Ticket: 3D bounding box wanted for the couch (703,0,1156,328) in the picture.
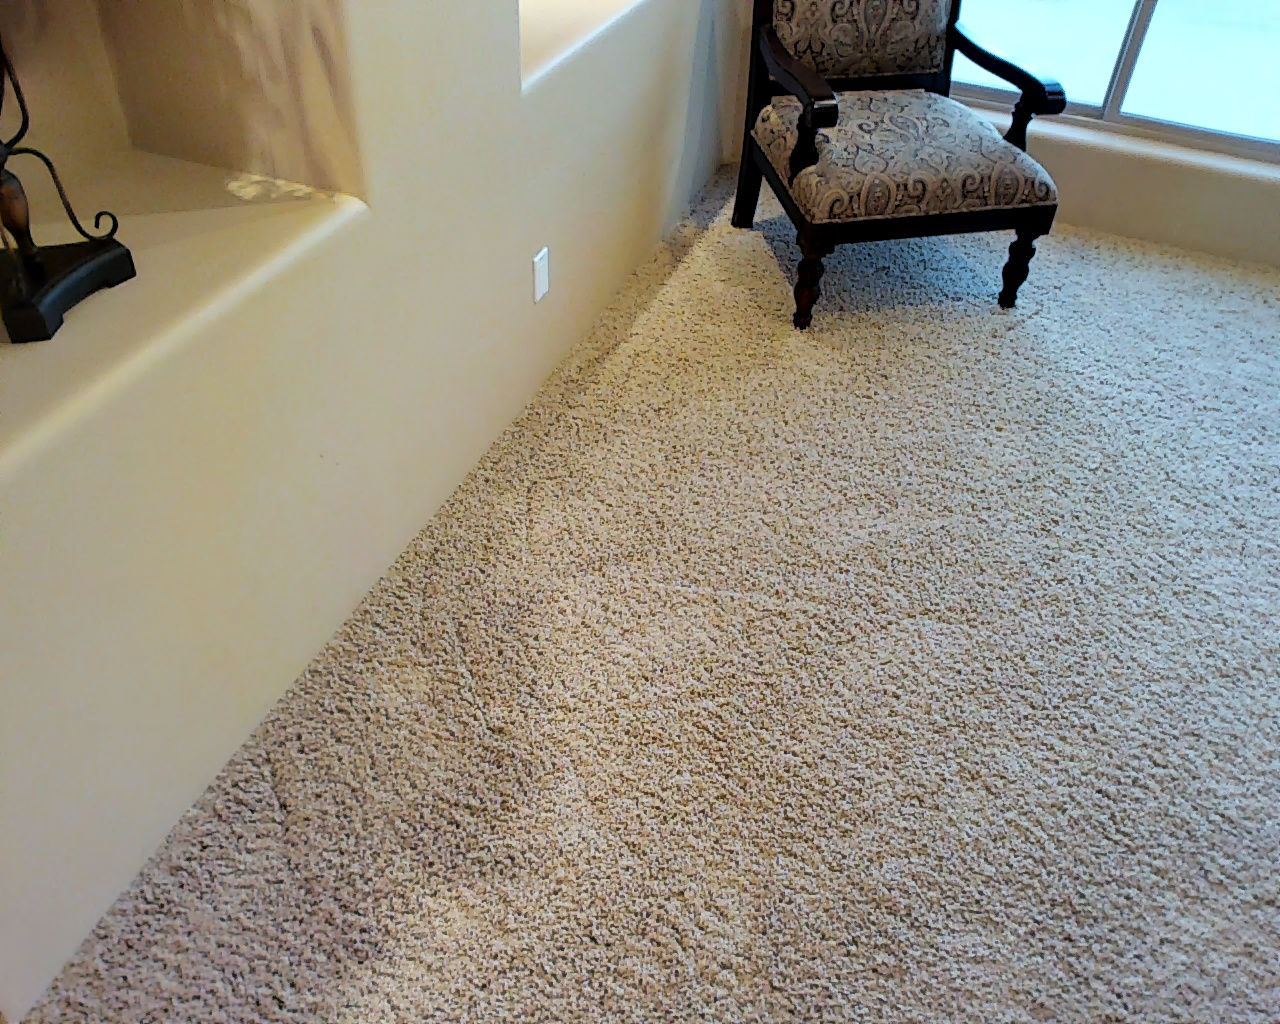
[{"bbox_3d":[0.730,-1.199,3.020,0.790,0.980,0.850,-7,43,-13],"label":"couch"}]
